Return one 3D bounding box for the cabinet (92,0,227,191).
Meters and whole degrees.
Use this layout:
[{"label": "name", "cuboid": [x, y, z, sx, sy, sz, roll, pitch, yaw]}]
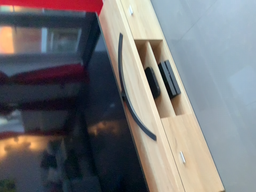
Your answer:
[{"label": "cabinet", "cuboid": [0.130, -0.070, 1.650, 0.480, 0.340, 1.640, -45, 57, 56]}]
